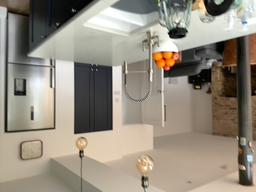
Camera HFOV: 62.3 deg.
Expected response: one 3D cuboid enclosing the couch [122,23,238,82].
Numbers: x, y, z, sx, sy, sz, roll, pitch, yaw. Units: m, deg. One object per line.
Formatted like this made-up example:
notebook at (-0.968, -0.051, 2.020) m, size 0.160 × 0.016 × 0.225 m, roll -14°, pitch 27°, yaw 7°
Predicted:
couch at (1.130, -0.920, 5.480) m, size 1.170 × 0.890 × 2.800 m, roll 0°, pitch 179°, yaw -37°
